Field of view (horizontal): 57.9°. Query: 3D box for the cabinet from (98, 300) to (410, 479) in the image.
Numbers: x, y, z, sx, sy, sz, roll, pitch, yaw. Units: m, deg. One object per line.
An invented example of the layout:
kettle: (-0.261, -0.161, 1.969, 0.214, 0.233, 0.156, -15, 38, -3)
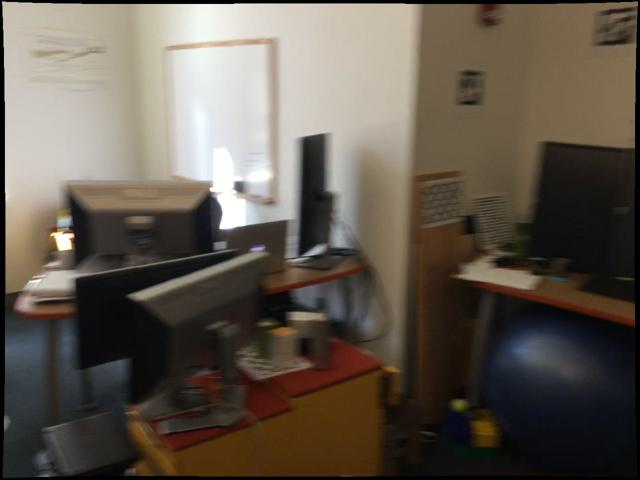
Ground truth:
cabinet: (-0.210, 0.691, 2.170, 1.009, 0.581, 0.510, -12, 22, -40)

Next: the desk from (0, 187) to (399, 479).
desk: (-0.589, 0.350, 2.680, 1.569, 0.861, 1.070, -12, 22, -40)

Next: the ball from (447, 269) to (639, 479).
ball: (1.029, 0.601, 2.430, 0.610, 0.691, 0.670, -12, 22, -40)

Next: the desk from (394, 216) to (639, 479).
desk: (1.199, 0.531, 2.420, 0.969, 0.861, 1.419, -12, 22, -40)

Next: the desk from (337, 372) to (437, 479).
desk: (0.280, 0.781, 2.450, 0.290, 0.270, 0.280, -12, 22, -40)
